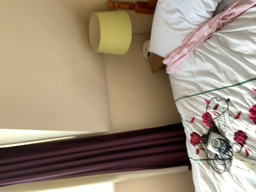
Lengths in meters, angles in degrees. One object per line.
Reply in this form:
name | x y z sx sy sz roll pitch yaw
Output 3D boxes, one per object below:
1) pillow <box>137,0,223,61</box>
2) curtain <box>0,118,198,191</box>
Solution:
pillow | 0.290 -0.570 1.460 0.690 0.160 0.390 139 125 -64
curtain | -0.360 0.490 1.750 0.420 1.870 0.400 144 121 -65
